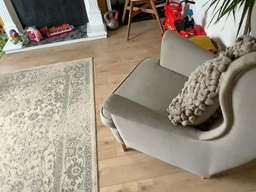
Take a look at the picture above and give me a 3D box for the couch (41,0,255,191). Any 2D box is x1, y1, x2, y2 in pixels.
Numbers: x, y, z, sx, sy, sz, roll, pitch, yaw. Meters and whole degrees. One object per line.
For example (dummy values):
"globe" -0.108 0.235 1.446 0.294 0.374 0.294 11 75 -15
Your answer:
"couch" 0.340 -0.010 1.170 1.000 1.000 0.800 21 50 27

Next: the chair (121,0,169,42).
"chair" 0.180 -1.210 2.610 0.500 0.810 0.580 -8 43 -1

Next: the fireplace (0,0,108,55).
"fireplace" -0.990 -1.200 2.490 1.310 1.180 0.430 -9 43 -2
